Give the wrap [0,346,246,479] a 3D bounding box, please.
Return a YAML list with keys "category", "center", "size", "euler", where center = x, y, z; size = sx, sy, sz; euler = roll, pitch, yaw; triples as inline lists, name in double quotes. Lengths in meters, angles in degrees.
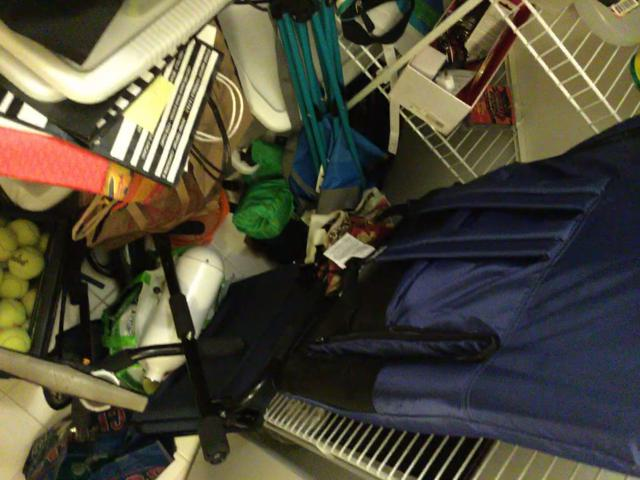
- category: "wrap"
  center: [-0.460, 0.500, 1.280]
  size: [0.420, 0.310, 0.340]
  euler: [-48, 10, -23]
